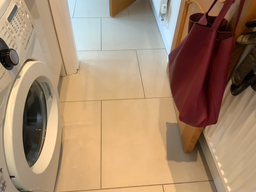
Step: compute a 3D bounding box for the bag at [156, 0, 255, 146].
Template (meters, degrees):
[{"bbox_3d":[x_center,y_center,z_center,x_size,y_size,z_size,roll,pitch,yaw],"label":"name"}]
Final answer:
[{"bbox_3d":[0.260,-0.160,0.740,0.160,0.630,0.370,-5,47,-7],"label":"bag"}]
